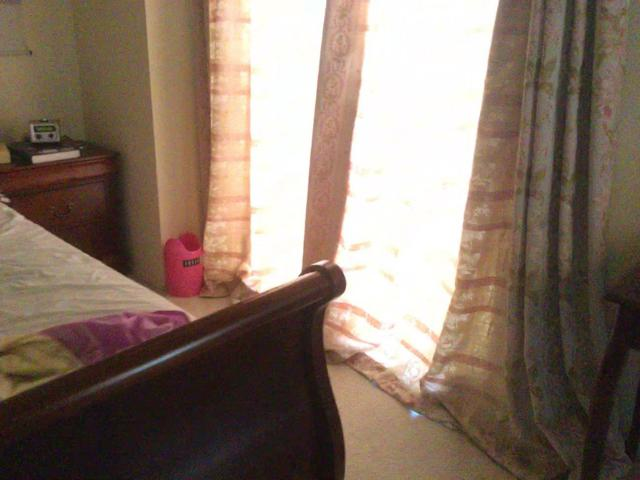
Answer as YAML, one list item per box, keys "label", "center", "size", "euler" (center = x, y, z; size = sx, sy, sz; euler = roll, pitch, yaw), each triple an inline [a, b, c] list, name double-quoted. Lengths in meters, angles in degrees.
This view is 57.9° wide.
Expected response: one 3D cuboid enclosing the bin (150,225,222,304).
- label: "bin"
  center: [-0.640, 0.110, 2.770]
  size: [0.230, 0.280, 0.230]
  euler: [17, 25, 38]
